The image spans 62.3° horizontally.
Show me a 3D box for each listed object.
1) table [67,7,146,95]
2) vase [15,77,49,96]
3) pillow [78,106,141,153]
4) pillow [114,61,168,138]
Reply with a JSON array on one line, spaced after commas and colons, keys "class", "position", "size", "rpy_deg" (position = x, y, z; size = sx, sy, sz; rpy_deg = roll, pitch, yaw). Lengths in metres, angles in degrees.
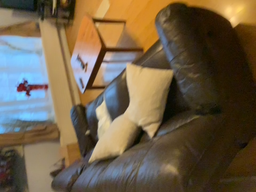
[{"class": "table", "position": [-0.290, -0.470, 2.400], "size": [0.760, 0.510, 0.540], "rpy_deg": [-56, 50, 43]}, {"class": "vase", "position": [-1.600, -0.170, 3.540], "size": [0.160, 0.480, 0.250], "rpy_deg": [-33, 67, 52]}, {"class": "pillow", "position": [-0.110, 0.260, 1.560], "size": [0.110, 0.410, 0.390], "rpy_deg": [59, 176, 13]}, {"class": "pillow", "position": [0.060, 0.000, 1.390], "size": [0.410, 0.080, 0.390], "rpy_deg": [28, 117, 51]}]
